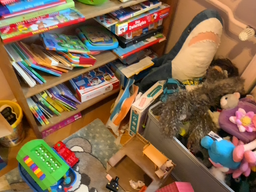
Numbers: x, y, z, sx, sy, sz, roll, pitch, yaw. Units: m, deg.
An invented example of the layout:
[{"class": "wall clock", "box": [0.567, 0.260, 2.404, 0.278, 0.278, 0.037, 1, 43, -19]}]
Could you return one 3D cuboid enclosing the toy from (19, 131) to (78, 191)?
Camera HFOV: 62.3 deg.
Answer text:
[{"class": "toy", "box": [-0.380, 0.340, 1.030, 0.140, 0.180, 0.250, -33, 60, -31]}]
